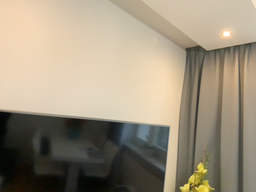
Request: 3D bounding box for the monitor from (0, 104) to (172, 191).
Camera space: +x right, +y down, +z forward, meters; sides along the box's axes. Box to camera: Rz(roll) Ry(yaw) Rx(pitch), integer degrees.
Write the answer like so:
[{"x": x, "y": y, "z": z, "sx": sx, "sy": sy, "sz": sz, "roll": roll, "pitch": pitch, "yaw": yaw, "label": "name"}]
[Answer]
[{"x": -0.220, "y": 0.530, "z": 1.180, "sx": 1.120, "sy": 0.810, "sz": 0.070, "roll": 13, "pitch": -9, "yaw": -34, "label": "monitor"}]
